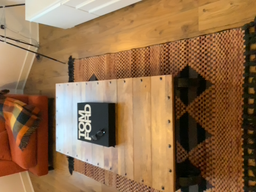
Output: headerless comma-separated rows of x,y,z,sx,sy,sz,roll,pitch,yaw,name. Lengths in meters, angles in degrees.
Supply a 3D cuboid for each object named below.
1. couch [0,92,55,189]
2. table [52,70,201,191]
-1.620,0.460,2.770,1.090,0.850,1.030,2,92,44,couch
-0.130,0.200,1.680,1.320,0.320,0.660,-1,90,44,table
